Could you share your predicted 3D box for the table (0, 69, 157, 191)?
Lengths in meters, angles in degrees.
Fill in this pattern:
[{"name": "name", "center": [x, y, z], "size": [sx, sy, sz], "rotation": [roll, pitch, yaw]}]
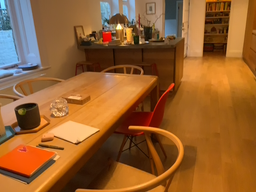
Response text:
[{"name": "table", "center": [-0.470, 0.410, 1.570], "size": [0.910, 0.730, 2.080], "rotation": [5, 21, 20]}]
